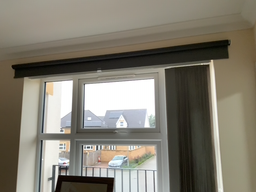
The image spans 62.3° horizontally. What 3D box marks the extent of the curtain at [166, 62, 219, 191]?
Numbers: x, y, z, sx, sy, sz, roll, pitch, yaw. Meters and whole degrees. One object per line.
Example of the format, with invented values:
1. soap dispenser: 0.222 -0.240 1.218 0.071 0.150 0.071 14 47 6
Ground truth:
1. curtain: 0.490 0.350 1.640 0.330 1.200 0.110 -3 -10 16
